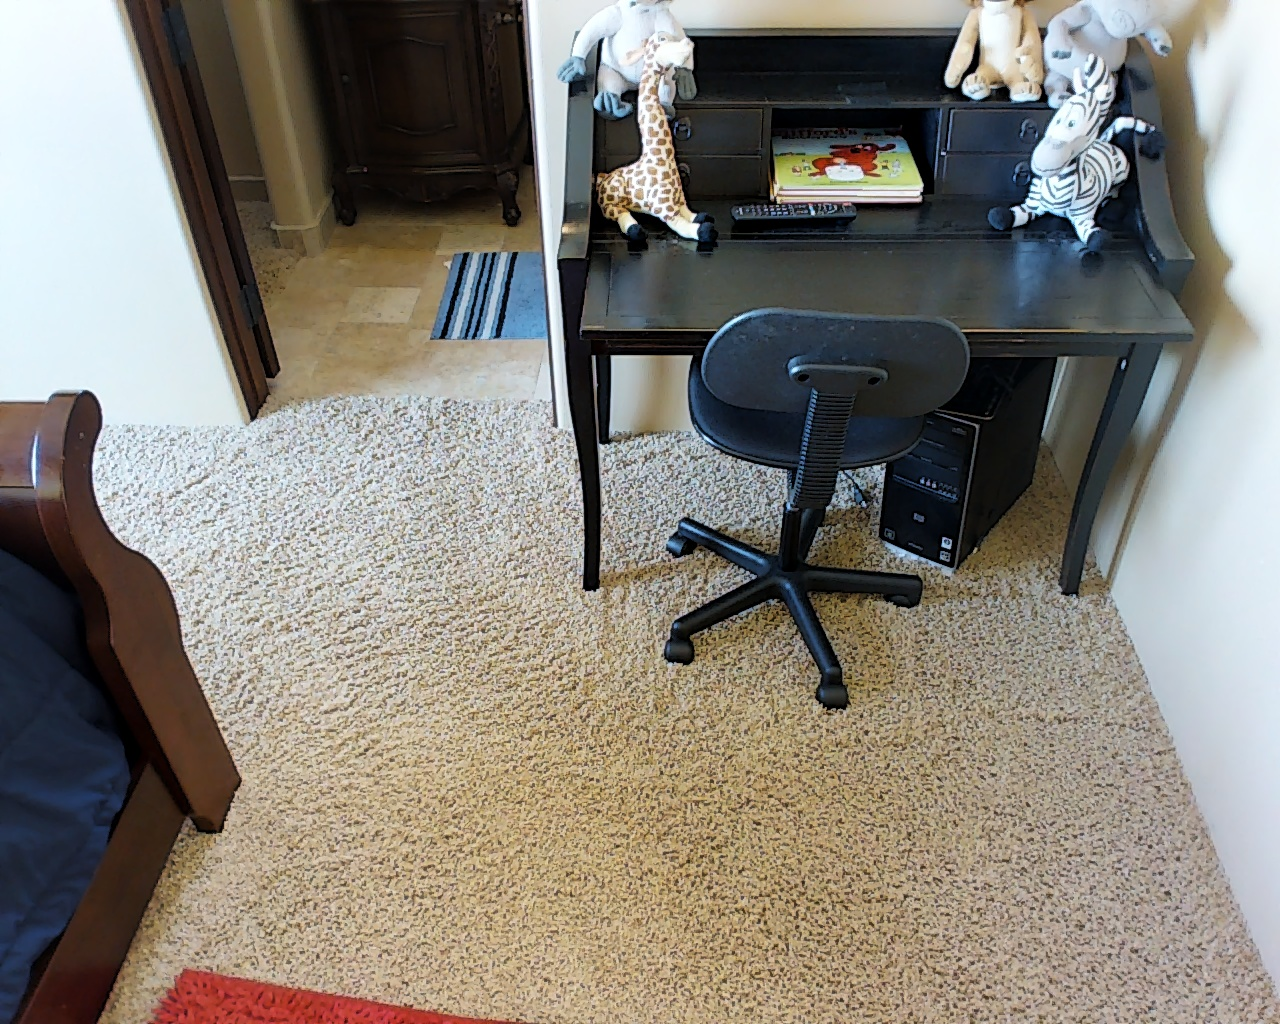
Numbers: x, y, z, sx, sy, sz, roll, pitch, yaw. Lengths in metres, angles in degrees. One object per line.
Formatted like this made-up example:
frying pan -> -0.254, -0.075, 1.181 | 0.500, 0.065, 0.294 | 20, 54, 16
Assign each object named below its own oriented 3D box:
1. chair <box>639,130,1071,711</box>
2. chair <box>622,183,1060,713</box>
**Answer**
chair -> 0.290, -0.150, 1.880 | 0.560, 0.820, 0.580 | 1, 41, 2
chair -> 0.270, -0.090, 1.820 | 0.570, 0.780, 0.440 | 1, 41, 2
